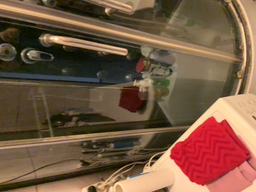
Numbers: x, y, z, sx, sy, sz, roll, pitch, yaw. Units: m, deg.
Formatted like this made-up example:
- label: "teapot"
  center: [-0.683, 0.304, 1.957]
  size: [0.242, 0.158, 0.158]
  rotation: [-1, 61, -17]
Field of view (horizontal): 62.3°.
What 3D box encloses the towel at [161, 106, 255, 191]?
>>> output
- label: "towel"
  center: [0.230, 0.180, 0.650]
  size: [0.240, 0.060, 0.180]
  rotation: [-58, 46, 34]
